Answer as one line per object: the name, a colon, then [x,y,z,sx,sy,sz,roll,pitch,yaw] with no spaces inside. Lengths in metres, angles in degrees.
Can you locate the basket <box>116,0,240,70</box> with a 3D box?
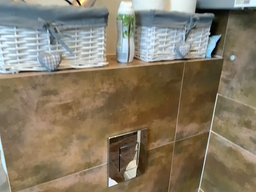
basket: [0.180,-0.250,0.820,0.380,0.220,0.240,-9,24,-29]
